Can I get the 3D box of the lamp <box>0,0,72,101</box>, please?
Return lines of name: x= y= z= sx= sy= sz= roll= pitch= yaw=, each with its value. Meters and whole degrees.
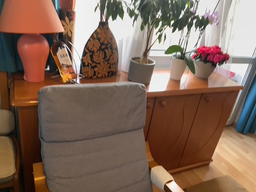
lamp: x=-0.490 y=-0.270 z=1.090 sx=0.330 sy=0.530 sz=0.220 roll=-4 pitch=28 yaw=-27

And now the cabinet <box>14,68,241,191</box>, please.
cabinet: x=0.020 y=0.270 z=1.680 sx=1.570 sy=0.850 sz=0.500 roll=-4 pitch=28 yaw=-28
